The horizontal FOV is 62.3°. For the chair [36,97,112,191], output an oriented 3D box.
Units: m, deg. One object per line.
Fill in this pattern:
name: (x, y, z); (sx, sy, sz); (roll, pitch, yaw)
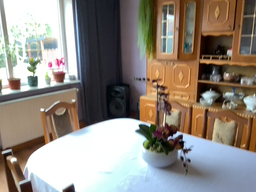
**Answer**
chair: (-0.450, 0.540, 1.870); (0.470, 0.950, 0.380); (9, 17, 34)

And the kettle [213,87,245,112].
kettle: (1.410, 0.040, 2.960); (0.310, 0.230, 0.360); (11, 18, 38)

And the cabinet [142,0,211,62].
cabinet: (0.700, -1.010, 3.170); (0.840, 0.930, 0.500); (11, 18, 38)
